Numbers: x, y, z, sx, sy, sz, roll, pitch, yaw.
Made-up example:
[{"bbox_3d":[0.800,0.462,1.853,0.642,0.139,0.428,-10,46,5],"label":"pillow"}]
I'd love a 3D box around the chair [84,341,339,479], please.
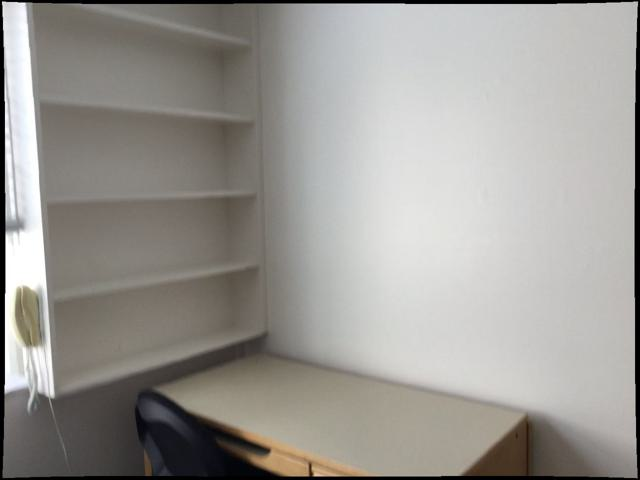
[{"bbox_3d":[-0.350,0.881,1.990,0.620,0.841,0.560,5,10,37],"label":"chair"}]
